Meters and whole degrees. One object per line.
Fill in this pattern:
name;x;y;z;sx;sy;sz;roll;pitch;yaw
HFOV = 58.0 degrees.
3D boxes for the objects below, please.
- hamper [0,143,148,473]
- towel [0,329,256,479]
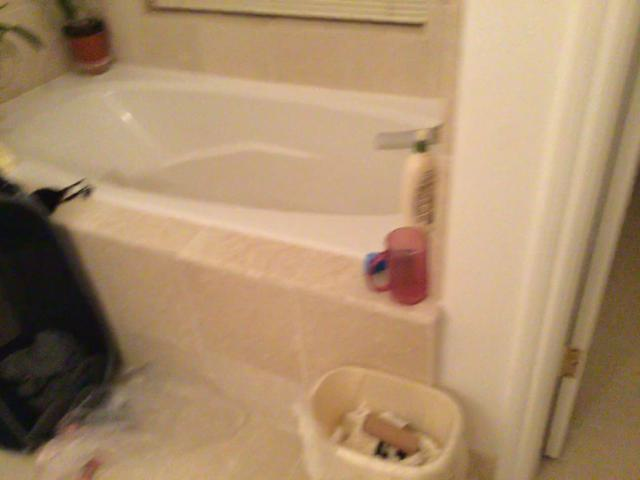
hamper;-0.850;0.160;1.520;0.430;0.710;0.410;11;39;25
towel;-0.480;0.480;1.500;0.470;0.170;0.390;11;39;25
